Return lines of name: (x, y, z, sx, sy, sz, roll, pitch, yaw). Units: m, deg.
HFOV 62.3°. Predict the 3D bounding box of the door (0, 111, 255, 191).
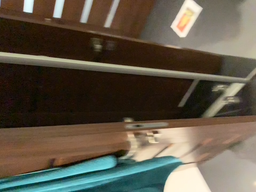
door: (-0.120, 0.430, 1.180, 1.050, 2.190, 0.140, -52, 47, 45)
